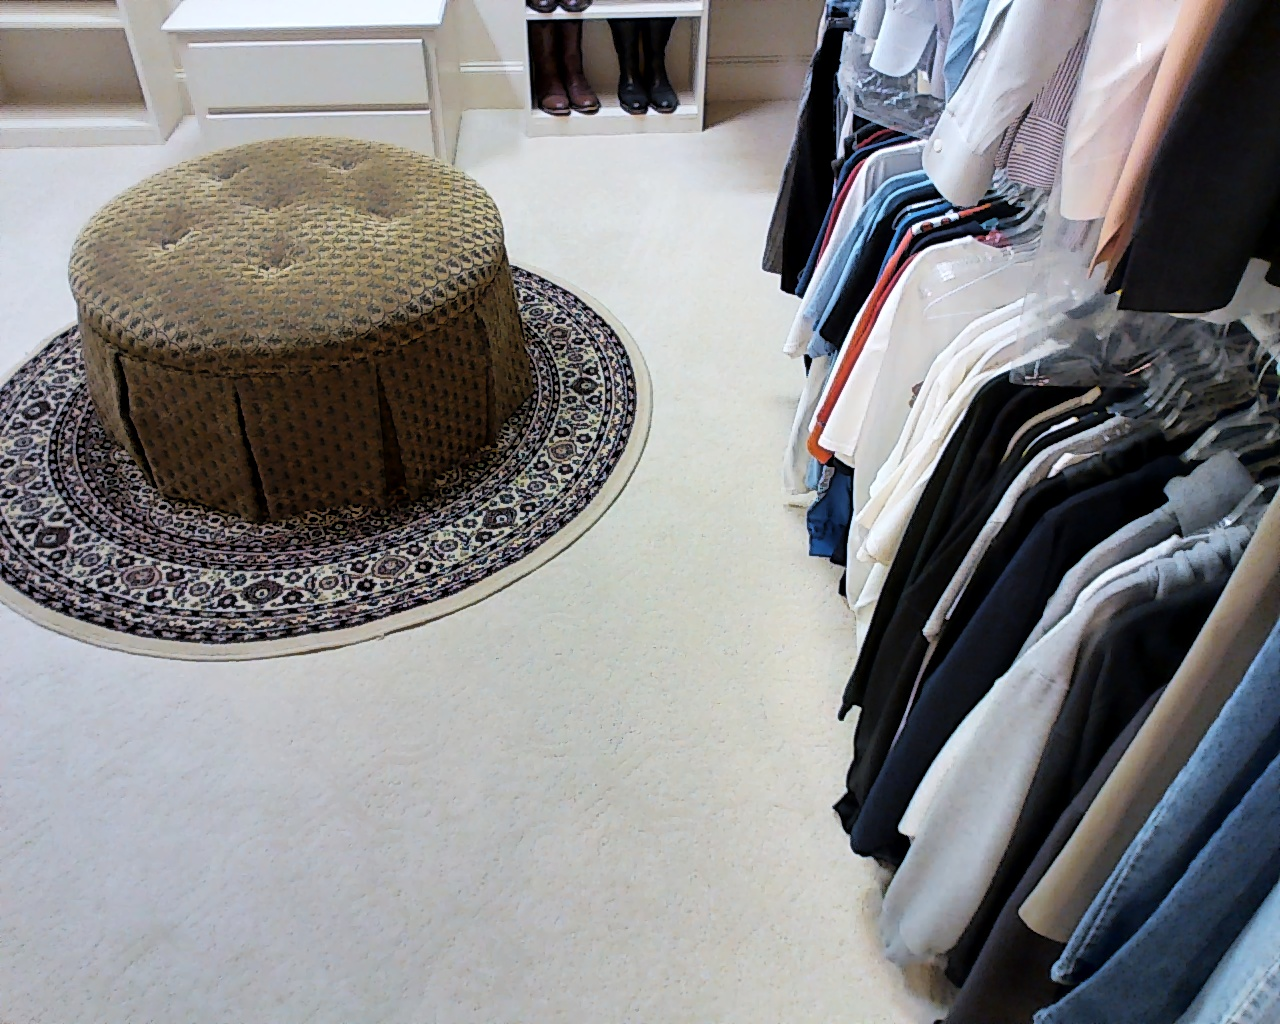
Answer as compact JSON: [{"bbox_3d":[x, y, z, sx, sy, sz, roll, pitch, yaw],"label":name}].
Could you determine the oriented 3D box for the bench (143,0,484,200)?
[{"bbox_3d":[-1.000,-1.460,3.520,0.880,0.570,0.680,-3,41,-2],"label":"bench"}]

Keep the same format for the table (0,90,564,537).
[{"bbox_3d":[-0.740,-0.510,2.480,1.090,0.520,1.040,-3,41,-2],"label":"table"}]
